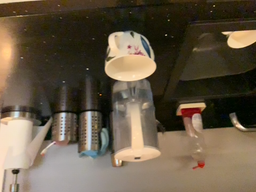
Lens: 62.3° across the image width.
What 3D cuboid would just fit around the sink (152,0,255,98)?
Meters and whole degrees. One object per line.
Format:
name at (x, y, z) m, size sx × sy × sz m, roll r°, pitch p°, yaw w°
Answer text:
sink at (0.320, -0.180, 0.780) m, size 0.400 × 0.190 × 0.460 m, roll -5°, pitch 159°, yaw -1°
